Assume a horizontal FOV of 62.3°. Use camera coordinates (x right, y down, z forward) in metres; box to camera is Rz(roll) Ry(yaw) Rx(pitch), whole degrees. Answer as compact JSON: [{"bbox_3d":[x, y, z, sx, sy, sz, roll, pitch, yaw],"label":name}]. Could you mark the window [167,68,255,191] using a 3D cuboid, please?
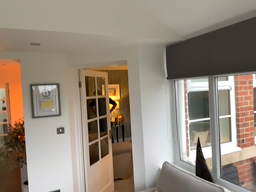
[{"bbox_3d":[0.790,0.280,2.000,0.070,0.990,1.180,-4,2,-28],"label":"window"}]
